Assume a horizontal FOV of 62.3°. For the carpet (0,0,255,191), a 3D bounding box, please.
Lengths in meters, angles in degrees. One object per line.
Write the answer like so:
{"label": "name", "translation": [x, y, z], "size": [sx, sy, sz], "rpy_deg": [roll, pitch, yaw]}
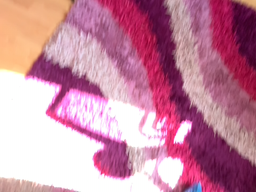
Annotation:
{"label": "carpet", "translation": [0.080, 0.130, 1.070], "size": [1.570, 0.040, 1.940], "rpy_deg": [27, 73, 5]}
